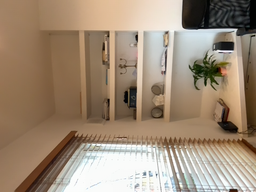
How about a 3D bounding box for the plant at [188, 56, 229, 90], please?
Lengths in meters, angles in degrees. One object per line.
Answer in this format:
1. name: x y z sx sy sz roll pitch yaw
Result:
1. plant: 1.060 -0.310 2.820 0.120 0.460 0.430 -72 -17 -78
